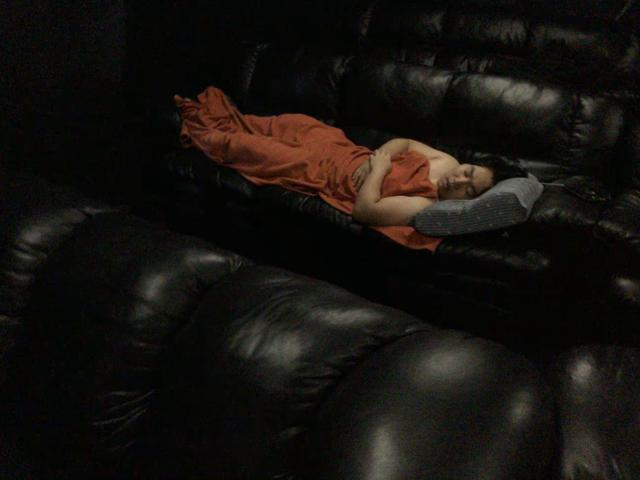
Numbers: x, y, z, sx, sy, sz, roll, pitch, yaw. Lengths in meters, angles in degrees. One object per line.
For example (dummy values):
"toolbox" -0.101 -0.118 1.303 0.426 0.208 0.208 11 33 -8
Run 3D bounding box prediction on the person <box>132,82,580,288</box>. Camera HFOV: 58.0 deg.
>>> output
"person" 0.090 -0.370 2.610 1.820 0.520 0.760 14 22 30

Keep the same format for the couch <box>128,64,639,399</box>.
"couch" 0.290 -0.260 2.530 2.180 0.860 0.900 14 22 30
